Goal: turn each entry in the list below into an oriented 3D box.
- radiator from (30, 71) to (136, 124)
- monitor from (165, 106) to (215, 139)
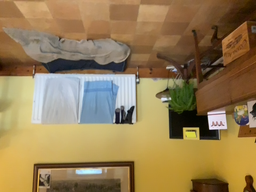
[{"bbox_3d":[-0.600,0.020,2.980,1.400,0.730,0.120,0,169,-5],"label":"radiator"},{"bbox_3d":[0.770,0.350,2.730,0.640,0.390,0.030,-9,166,38],"label":"monitor"}]
